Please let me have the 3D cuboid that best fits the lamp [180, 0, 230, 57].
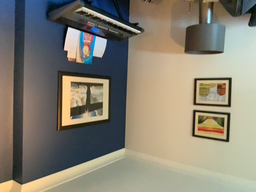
[{"bbox_3d":[0.740,-0.700,2.030,0.350,0.600,0.300,4,-177,38],"label":"lamp"}]
